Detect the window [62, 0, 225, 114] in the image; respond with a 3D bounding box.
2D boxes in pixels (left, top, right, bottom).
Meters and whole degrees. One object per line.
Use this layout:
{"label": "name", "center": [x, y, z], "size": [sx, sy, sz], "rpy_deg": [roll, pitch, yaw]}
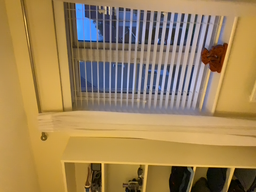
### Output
{"label": "window", "center": [0.090, -0.260, 1.650], "size": [0.070, 1.100, 0.860], "rpy_deg": [-93, 5, -63]}
